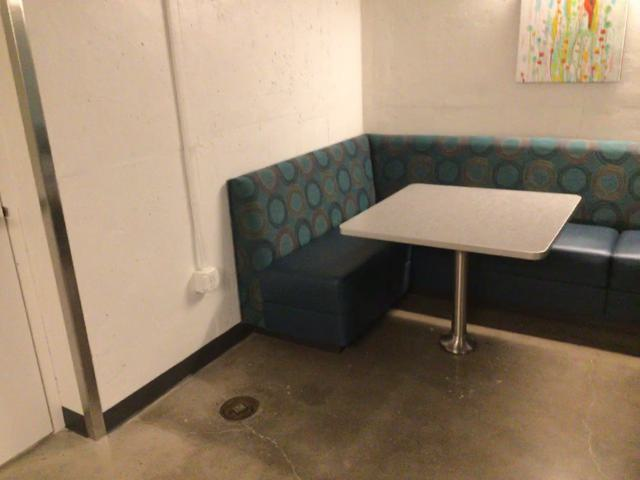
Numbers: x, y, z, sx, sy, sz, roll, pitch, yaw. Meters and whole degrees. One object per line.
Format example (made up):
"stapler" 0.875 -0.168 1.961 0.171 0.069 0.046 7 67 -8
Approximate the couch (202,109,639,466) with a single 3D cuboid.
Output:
"couch" 1.240 0.050 2.600 3.180 1.060 1.490 3 19 33
